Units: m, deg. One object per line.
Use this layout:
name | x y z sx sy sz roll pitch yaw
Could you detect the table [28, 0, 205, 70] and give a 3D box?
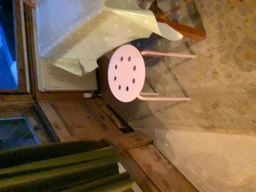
table | -0.110 -0.730 1.320 0.770 0.740 0.950 -9 85 47
